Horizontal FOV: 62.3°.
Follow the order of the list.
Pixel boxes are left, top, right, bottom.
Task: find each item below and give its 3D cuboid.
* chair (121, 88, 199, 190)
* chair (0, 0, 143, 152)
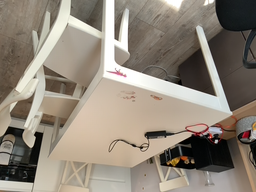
[{"bbox_3d":[0.300,0.490,2.340,0.580,0.920,0.470,17,142,-28],"label":"chair"},{"bbox_3d":[-0.300,-0.230,1.220,0.550,0.900,0.450,25,138,-36],"label":"chair"}]
